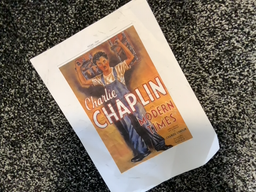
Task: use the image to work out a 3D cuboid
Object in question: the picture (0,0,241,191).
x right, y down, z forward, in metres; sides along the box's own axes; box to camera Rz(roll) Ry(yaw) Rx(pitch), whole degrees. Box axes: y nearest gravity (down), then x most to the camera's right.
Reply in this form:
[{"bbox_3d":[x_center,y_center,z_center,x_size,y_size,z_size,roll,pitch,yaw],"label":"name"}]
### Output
[{"bbox_3d":[-0.010,0.030,0.370,0.270,0.020,0.340,-32,96,5],"label":"picture"}]
